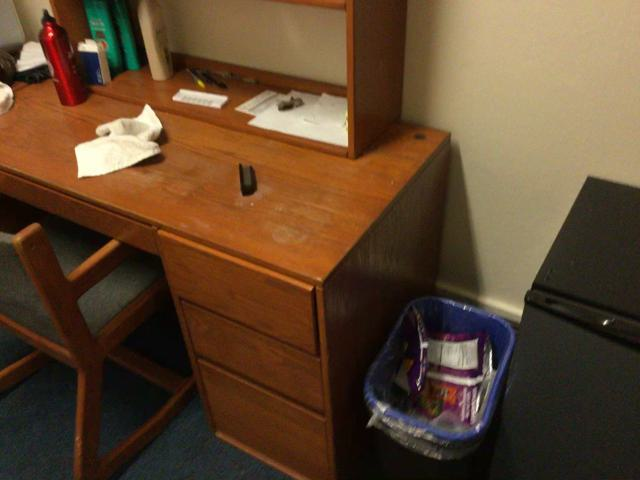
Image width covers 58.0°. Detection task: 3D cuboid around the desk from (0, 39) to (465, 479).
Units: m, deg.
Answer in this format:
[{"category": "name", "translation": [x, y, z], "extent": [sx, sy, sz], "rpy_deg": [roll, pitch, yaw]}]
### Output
[{"category": "desk", "translation": [-0.340, 0.010, 1.620], "extent": [1.230, 0.780, 0.630], "rpy_deg": [18, 42, 25]}]
